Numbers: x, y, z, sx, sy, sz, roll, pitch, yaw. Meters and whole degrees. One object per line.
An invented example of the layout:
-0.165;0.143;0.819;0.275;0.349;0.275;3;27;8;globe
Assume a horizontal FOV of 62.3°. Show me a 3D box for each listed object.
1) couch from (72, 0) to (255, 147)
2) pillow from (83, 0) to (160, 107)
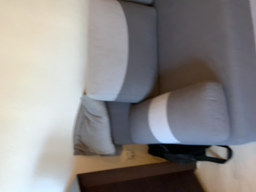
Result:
0.200;-0.690;1.580;1.030;0.920;2.000;-19;71;56;couch
-0.040;-0.300;1.510;0.260;0.490;0.720;-9;80;42;pillow
